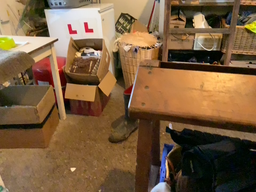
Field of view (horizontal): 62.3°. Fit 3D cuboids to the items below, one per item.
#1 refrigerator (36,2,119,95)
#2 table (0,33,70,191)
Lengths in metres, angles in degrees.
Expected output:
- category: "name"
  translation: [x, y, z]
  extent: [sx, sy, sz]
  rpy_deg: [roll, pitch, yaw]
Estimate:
- category: "refrigerator"
  translation: [-0.510, -0.580, 2.500]
  extent: [0.630, 0.910, 0.620]
  rpy_deg: [4, 30, 12]
- category: "table"
  translation: [-0.960, 0.030, 1.550]
  extent: [0.610, 0.740, 1.000]
  rpy_deg: [2, 29, 7]
